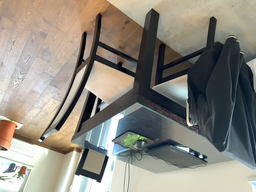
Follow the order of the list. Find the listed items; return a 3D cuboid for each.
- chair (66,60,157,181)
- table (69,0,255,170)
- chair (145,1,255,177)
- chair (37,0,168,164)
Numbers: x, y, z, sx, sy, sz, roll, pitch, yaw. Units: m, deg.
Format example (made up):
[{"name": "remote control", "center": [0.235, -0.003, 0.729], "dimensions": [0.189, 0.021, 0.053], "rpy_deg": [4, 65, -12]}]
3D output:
[{"name": "chair", "center": [-0.120, 0.250, 2.010], "dimensions": [0.440, 0.930, 0.580], "rpy_deg": [31, 142, -29]}, {"name": "table", "center": [0.240, 0.030, 1.710], "dimensions": [0.930, 0.770, 0.920], "rpy_deg": [28, 144, -26]}, {"name": "chair", "center": [0.500, -0.030, 1.400], "dimensions": [0.440, 0.930, 0.540], "rpy_deg": [27, 144, -25]}, {"name": "chair", "center": [-0.110, -0.110, 1.440], "dimensions": [0.560, 0.930, 0.440], "rpy_deg": [27, 144, -25]}]
